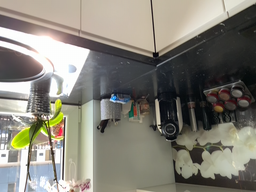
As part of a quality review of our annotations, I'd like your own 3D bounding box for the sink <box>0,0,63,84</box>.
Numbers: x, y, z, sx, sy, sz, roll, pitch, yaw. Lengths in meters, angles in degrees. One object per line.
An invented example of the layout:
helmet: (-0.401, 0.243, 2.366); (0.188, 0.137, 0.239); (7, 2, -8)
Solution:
sink: (-0.500, -0.200, 0.770); (0.390, 0.150, 0.400); (8, 162, -35)
